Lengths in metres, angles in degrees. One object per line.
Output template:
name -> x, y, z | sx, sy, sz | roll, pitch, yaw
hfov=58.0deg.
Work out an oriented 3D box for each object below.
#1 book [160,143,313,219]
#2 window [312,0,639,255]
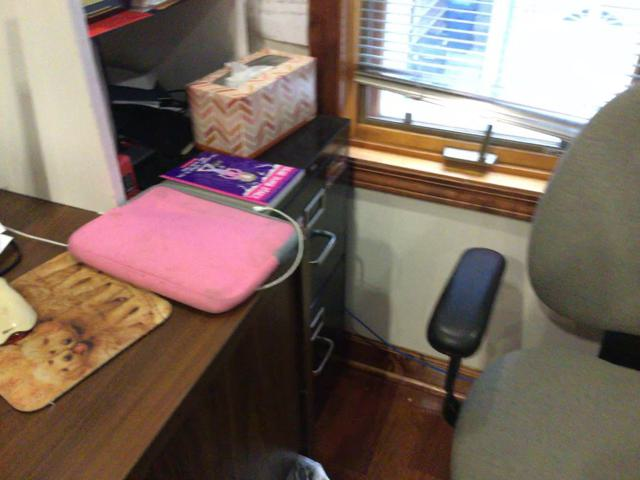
book -> -0.130, -0.100, 0.930 | 0.200, 0.030, 0.140 | 11, 36, 17
window -> 0.320, -0.310, 1.060 | 0.650, 0.570, 0.160 | 11, 36, 17
